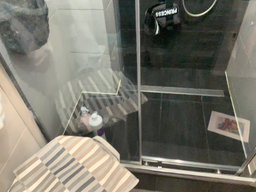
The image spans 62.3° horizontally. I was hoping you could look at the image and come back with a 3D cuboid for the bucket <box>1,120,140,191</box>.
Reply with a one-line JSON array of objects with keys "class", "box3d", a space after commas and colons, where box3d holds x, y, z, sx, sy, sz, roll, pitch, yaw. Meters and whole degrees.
[{"class": "bucket", "box3d": [-0.230, 0.550, 1.050, 0.480, 0.590, 0.550, 8, 47, 11]}]
